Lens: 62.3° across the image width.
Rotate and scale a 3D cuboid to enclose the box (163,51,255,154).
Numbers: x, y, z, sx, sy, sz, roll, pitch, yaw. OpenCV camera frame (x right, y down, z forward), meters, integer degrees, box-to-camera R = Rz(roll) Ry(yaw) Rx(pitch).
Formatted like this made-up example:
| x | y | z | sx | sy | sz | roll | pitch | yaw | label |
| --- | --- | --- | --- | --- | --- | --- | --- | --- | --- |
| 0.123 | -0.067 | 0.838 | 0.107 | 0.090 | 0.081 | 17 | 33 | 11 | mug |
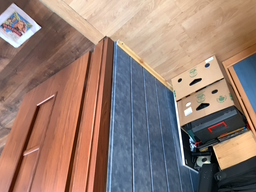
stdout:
| x | y | z | sx | sy | sz | roll | pitch | yaw | label |
| --- | --- | --- | --- | --- | --- | --- | --- | --- | --- |
| 0.650 | 0.080 | 1.710 | 0.470 | 0.500 | 0.530 | -27 | 134 | 28 | box |
